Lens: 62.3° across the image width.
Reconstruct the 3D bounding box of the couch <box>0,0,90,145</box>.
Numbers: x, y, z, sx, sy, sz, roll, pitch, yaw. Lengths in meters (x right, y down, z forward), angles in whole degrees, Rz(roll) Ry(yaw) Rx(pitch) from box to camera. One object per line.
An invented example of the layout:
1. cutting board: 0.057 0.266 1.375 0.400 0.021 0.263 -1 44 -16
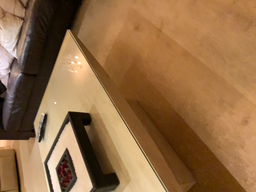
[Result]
1. couch: -1.320 -0.530 2.550 2.110 0.730 1.050 -60 45 26
